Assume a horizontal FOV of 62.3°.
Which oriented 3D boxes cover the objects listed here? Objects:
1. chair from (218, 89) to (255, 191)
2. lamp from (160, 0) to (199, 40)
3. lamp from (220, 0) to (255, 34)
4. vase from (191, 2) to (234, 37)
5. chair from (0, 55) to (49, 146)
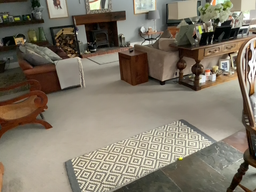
[{"bbox_3d":[0.970,0.420,1.380,0.440,0.820,0.480,-17,26,-27],"label":"chair"},{"bbox_3d":[0.830,-1.250,3.460,0.480,0.550,0.340,-14,25,-21],"label":"lamp"},{"bbox_3d":[2.040,-1.540,3.970,0.390,0.660,0.350,-14,25,-21],"label":"lamp"},{"bbox_3d":[1.430,-1.320,3.650,0.460,0.490,0.480,-14,25,-21],"label":"vase"},{"bbox_3d":[-1.670,0.070,2.640,1.040,0.880,0.710,-15,25,-22],"label":"chair"}]
